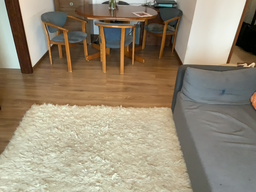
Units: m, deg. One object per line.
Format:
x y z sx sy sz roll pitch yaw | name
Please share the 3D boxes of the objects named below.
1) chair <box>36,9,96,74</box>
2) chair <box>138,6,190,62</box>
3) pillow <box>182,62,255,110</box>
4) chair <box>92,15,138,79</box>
-0.900 -0.840 3.200 0.560 0.740 0.570 22 37 25 | chair
0.610 -1.130 3.800 0.560 0.750 0.610 -19 40 -31 | chair
0.840 -0.080 1.890 0.620 0.260 0.190 10 49 -5 | pillow
-0.190 -0.720 3.090 0.570 0.740 0.560 2 33 -3 | chair
